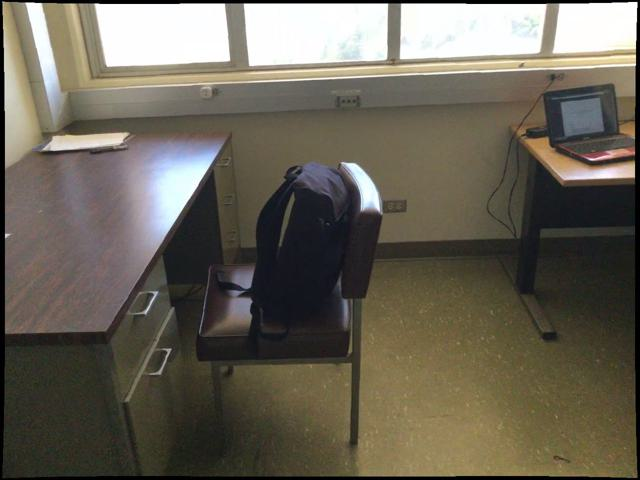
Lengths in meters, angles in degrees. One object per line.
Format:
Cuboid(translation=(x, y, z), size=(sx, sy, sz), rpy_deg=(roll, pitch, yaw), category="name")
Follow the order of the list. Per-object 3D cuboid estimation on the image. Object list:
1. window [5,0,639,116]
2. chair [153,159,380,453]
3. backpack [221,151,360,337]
Cuboid(translation=(0.239, -1.364, 2.330), size=(3.132, 1.493, 0.340), rpy_deg=(-2, 26, 4), category="window")
Cuboid(translation=(-0.110, 0.201, 1.880), size=(0.569, 0.762, 0.550), rpy_deg=(-2, 26, 4), category="chair")
Cuboid(translation=(-0.060, 0.000, 1.760), size=(0.349, 0.421, 0.400), rpy_deg=(-2, 26, 4), category="backpack")
